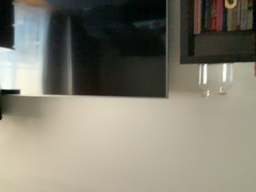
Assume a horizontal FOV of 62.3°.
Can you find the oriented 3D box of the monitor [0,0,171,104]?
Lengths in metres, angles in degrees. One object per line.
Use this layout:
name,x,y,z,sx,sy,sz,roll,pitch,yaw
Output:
monitor,-0.430,-0.420,1.570,1.460,0.830,0.060,5,-170,20
